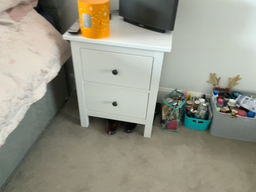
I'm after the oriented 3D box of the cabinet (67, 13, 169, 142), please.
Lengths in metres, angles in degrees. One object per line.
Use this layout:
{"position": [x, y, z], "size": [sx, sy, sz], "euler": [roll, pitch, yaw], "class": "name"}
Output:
{"position": [-0.040, -0.120, 1.380], "size": [0.480, 0.640, 0.430], "euler": [10, 38, 7], "class": "cabinet"}
